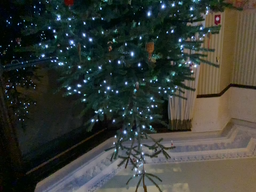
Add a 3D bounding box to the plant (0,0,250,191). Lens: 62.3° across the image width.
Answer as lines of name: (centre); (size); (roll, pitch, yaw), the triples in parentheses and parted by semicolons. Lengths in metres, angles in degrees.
plant: (-0.110, -0.740, 1.880); (1.780, 2.970, 1.560); (12, -156, 39)
